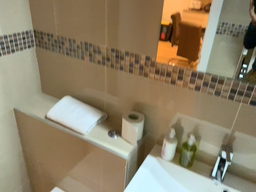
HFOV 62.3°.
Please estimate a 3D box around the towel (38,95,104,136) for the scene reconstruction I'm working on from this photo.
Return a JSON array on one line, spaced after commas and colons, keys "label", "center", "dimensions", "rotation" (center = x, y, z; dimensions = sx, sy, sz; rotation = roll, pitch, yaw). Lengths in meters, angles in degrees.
[{"label": "towel", "center": [-0.290, 0.090, 1.100], "dimensions": [0.280, 0.050, 0.180], "rotation": [18, 32, 22]}]
